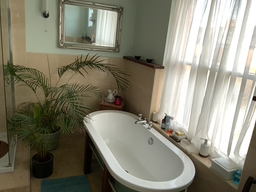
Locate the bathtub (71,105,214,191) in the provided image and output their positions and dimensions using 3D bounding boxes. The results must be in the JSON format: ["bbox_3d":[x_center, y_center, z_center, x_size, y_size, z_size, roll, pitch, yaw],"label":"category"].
[{"bbox_3d":[-0.040,0.690,2.420,0.810,0.610,1.710,-3,18,-27],"label":"bathtub"}]
